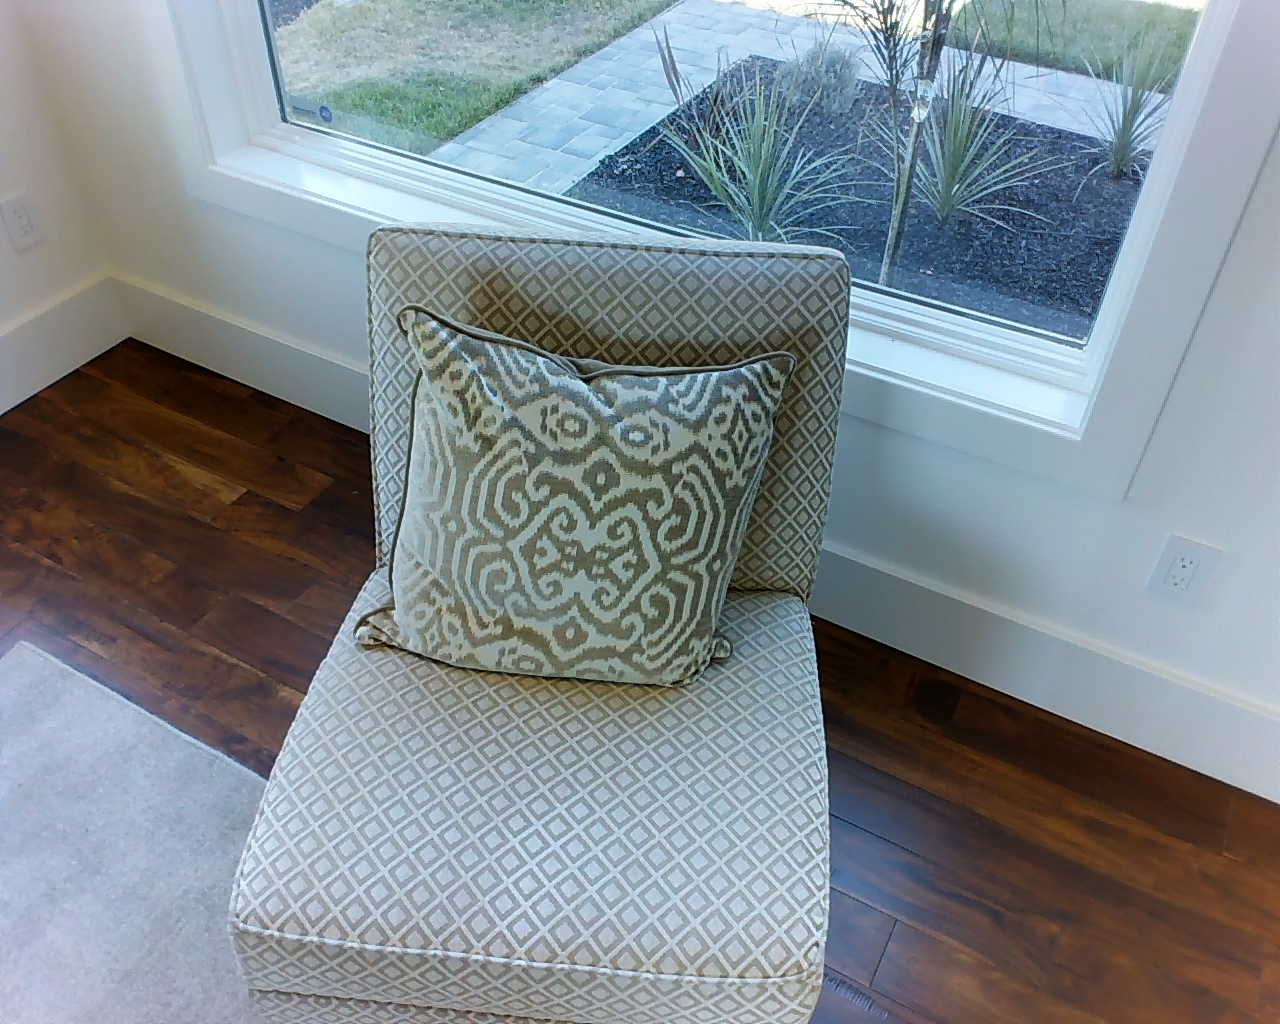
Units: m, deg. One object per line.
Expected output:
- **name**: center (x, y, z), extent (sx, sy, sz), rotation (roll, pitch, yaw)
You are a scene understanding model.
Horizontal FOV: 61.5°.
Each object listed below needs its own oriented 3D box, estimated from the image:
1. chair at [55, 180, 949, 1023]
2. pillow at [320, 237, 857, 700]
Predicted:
- **chair**: center (-0.070, 0.190, 1.470), extent (0.700, 0.880, 0.940), rotation (5, 42, 4)
- **pillow**: center (-0.080, -0.020, 1.390), extent (0.540, 0.430, 0.200), rotation (26, 54, -12)
